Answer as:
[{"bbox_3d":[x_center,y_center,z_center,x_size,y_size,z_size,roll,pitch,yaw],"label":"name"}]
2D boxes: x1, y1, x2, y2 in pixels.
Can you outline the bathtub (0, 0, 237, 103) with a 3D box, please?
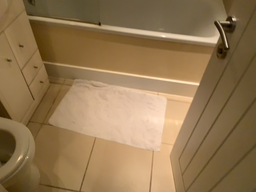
[{"bbox_3d":[-0.080,-0.530,1.850,1.670,0.550,0.730,10,49,5],"label":"bathtub"}]
